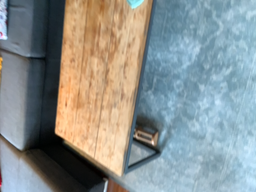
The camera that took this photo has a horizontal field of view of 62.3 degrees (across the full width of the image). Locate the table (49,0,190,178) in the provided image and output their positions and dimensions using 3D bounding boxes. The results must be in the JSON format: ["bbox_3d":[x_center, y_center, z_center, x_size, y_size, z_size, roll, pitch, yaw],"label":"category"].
[{"bbox_3d":[-0.090,-0.220,1.280,0.650,0.370,1.110,20,106,37],"label":"table"}]
